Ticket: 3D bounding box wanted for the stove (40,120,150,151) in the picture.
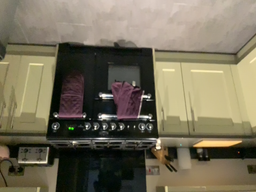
[{"bbox_3d":[-0.290,0.400,2.010,0.880,0.160,0.580,3,158,-8],"label":"stove"}]
